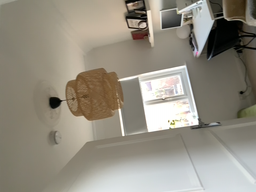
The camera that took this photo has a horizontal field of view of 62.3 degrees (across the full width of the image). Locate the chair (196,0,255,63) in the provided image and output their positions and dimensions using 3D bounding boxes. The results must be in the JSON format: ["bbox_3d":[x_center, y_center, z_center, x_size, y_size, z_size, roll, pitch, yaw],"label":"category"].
[{"bbox_3d":[1.380,-0.860,2.890,0.530,0.700,0.570,47,-146,-78],"label":"chair"}]
